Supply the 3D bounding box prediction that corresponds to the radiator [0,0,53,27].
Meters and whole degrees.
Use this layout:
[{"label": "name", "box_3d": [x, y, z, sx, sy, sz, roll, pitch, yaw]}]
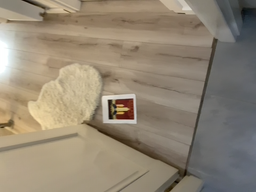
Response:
[{"label": "radiator", "box_3d": [-1.270, -0.760, 1.800, 1.070, 0.650, 0.150, 9, 94, 31]}]
